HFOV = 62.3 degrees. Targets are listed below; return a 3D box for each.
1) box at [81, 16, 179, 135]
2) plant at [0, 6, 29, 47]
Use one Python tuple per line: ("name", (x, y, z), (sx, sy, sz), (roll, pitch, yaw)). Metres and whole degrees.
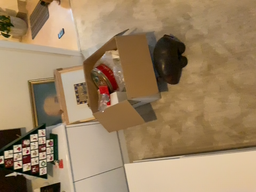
("box", (-0.020, -0.120, 1.680), (0.580, 0.330, 0.710), (-25, 73, 44))
("plant", (-2.170, -1.210, 3.670), (0.290, 0.760, 0.560), (3, 93, 46))
